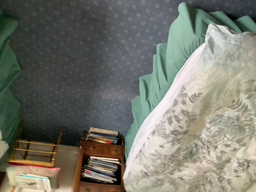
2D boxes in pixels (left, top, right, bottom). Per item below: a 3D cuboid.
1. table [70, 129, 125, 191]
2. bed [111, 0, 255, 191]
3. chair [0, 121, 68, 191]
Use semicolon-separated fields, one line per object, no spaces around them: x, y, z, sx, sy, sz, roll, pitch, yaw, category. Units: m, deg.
-0.320;0.780;2.240;0.480;0.710;0.380;10;136;-13;table
0.600;0.310;1.870;1.060;0.570;2.020;10;136;-13;bed
-0.880;0.720;2.060;0.420;0.820;0.400;10;136;-13;chair
